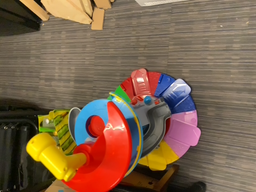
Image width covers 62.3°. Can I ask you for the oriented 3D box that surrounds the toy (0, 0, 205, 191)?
[{"bbox_3d":[-0.060,0.080,0.830,0.560,0.920,0.510,5,93,25],"label":"toy"}]
